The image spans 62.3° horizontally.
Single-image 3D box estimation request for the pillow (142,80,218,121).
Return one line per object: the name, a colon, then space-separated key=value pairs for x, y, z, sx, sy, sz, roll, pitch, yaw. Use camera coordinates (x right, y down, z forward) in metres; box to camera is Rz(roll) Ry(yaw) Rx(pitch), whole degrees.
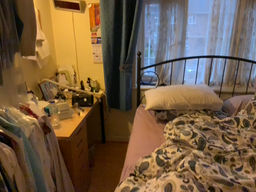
pillow: x=0.470 y=0.030 z=2.110 sx=0.650 sy=0.270 sz=0.430 roll=0 pitch=19 yaw=1
